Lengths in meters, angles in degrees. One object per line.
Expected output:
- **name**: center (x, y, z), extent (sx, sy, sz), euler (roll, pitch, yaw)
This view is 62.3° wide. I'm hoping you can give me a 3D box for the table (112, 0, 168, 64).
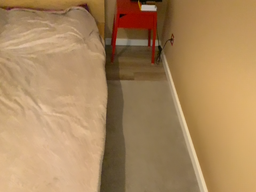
- **table**: center (0.080, -0.680, 2.160), extent (0.470, 0.570, 0.400), euler (0, 45, -5)
